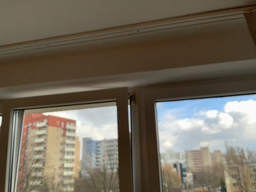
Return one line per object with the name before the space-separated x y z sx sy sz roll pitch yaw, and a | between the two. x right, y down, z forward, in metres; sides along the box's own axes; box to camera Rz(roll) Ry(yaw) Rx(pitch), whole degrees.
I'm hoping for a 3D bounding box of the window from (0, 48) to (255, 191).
window | -0.140 0.570 1.190 2.620 1.570 0.070 -5 -18 12
